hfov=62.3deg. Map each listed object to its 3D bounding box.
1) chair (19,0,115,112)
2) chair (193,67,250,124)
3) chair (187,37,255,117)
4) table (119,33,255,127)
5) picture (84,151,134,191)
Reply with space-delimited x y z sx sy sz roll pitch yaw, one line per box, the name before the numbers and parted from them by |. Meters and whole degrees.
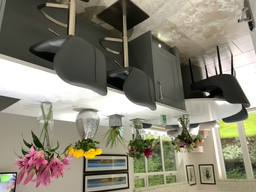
chair | -0.420 -0.470 1.440 0.420 1.010 0.610 8 160 -29
chair | 1.490 0.010 3.480 0.600 0.820 0.470 -2 162 -1
chair | 1.210 -0.210 2.780 0.600 0.810 0.470 -16 158 37
table | 0.910 -0.060 3.400 1.550 0.770 1.430 -18 156 41
picture | -0.330 1.480 4.080 0.080 0.790 1.190 -17 157 40
